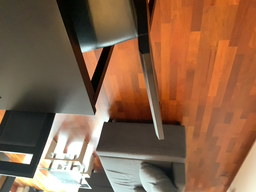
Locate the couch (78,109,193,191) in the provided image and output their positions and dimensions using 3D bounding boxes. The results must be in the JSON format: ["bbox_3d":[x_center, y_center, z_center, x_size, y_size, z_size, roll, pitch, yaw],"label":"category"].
[{"bbox_3d":[0.240,1.270,2.900,0.950,0.820,2.430,1,138,10],"label":"couch"}]
